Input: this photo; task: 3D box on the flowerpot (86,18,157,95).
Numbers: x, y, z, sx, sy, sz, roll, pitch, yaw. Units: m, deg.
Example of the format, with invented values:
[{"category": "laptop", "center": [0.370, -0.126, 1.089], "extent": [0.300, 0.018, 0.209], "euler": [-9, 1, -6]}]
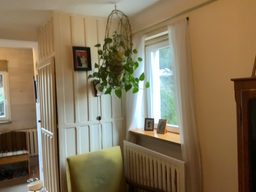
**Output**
[{"category": "flowerpot", "center": [-0.090, -0.400, 2.450], "extent": [0.610, 0.750, 0.550], "euler": [-3, 3, -29]}]
